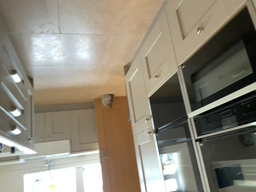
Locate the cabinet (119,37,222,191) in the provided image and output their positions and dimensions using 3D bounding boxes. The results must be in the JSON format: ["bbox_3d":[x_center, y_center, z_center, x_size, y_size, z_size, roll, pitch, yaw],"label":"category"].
[{"bbox_3d":[0.390,0.570,2.070,0.570,2.240,0.590,-3,163,-17],"label":"cabinet"}]

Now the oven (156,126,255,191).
[{"bbox_3d":[0.580,0.530,1.500,0.520,0.500,0.550,-3,163,-17],"label":"oven"}]
